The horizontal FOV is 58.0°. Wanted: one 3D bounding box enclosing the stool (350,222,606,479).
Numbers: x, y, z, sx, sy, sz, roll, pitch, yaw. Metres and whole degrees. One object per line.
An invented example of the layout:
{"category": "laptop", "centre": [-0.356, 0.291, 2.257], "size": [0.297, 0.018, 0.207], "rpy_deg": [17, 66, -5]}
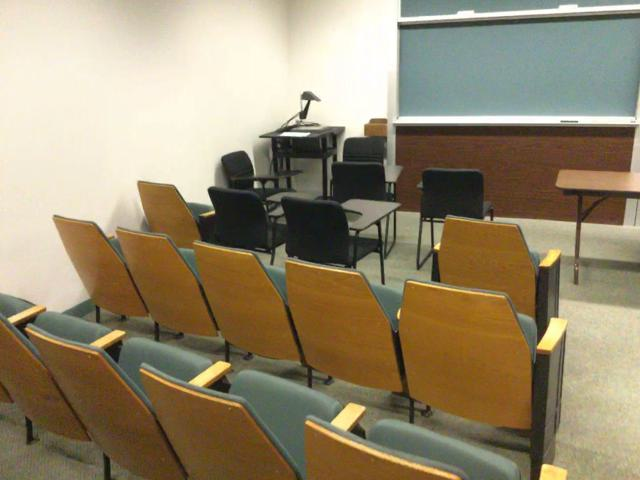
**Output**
{"category": "stool", "centre": [0.600, 0.340, 2.170], "size": [0.700, 0.620, 0.580], "rpy_deg": [8, 23, 43]}

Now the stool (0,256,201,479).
{"category": "stool", "centre": [-1.020, 0.580, 2.600], "size": [0.620, 0.810, 0.560], "rpy_deg": [9, 23, 43]}

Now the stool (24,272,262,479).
{"category": "stool", "centre": [-0.660, 0.630, 2.230], "size": [0.560, 0.820, 0.510], "rpy_deg": [8, 23, 42]}

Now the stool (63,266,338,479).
{"category": "stool", "centre": [-0.350, 0.630, 1.920], "size": [0.470, 0.880, 0.600], "rpy_deg": [9, 24, 44]}

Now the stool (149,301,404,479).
{"category": "stool", "centre": [-0.070, 0.700, 1.700], "size": [0.410, 0.850, 0.530], "rpy_deg": [5, 21, 35]}
